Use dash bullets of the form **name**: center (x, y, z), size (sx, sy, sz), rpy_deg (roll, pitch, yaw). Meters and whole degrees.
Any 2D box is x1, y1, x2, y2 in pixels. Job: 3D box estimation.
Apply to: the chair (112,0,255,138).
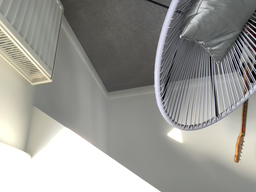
- **chair**: center (0.420, -0.350, 1.040), size (0.710, 0.810, 0.800), rpy_deg (12, 146, -25)
